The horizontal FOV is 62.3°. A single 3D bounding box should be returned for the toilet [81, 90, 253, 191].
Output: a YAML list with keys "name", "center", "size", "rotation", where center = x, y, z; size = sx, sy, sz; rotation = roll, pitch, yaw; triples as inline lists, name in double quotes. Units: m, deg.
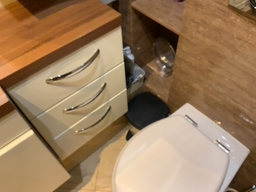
- name: "toilet"
  center: [0.160, 0.370, 0.970]
  size: [0.530, 0.480, 0.370]
  rotation: [-38, 60, -23]
